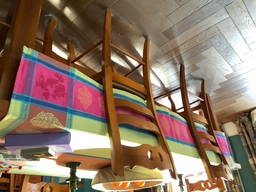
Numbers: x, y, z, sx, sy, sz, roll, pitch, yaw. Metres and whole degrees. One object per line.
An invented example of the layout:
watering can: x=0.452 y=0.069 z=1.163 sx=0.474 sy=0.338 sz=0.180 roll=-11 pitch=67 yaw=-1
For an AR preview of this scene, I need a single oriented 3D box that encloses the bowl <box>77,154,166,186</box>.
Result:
bowl: x=-0.050 y=0.520 z=1.440 sx=0.450 sy=0.110 sz=0.390 roll=-28 pitch=144 yaw=36
